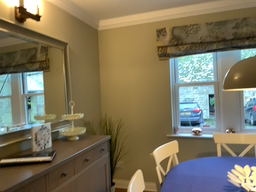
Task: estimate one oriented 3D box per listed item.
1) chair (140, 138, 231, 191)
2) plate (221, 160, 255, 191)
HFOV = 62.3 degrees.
[{"bbox_3d":[0.430,0.810,1.520,0.500,0.890,0.430,-2,1,36],"label":"chair"},{"bbox_3d":[0.740,0.480,1.190,0.380,0.080,0.430,-2,1,22],"label":"plate"}]
